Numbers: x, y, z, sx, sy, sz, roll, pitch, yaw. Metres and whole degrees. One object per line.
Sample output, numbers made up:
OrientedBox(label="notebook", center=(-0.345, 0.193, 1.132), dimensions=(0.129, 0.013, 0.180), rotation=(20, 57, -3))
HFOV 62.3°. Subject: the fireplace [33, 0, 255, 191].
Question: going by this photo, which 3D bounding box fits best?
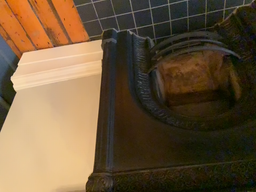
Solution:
OrientedBox(label="fireplace", center=(0.300, -0.030, 0.960), dimensions=(1.080, 1.000, 0.410), rotation=(-8, 139, 7))
